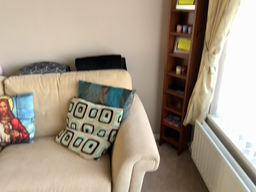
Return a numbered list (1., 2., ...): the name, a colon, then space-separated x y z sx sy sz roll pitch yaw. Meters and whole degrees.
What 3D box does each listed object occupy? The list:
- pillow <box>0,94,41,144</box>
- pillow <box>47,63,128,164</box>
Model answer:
1. pillow: -0.930 0.170 1.610 0.460 0.350 0.150 -1 5 -3
2. pillow: -0.310 0.130 1.550 0.620 0.610 0.210 -6 -9 37
